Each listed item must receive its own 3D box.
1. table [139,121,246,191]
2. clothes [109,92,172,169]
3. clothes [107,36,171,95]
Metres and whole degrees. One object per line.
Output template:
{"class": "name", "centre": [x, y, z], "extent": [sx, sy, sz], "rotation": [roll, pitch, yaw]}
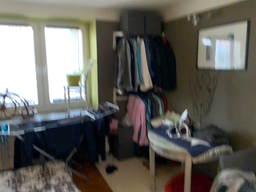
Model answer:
{"class": "table", "centre": [0.720, 0.840, 2.580], "extent": [0.850, 0.770, 0.870], "rotation": [-5, 11, -25]}
{"class": "clothes", "centre": [0.200, 0.520, 3.560], "extent": [0.870, 1.050, 0.550], "rotation": [-5, 11, -26]}
{"class": "clothes", "centre": [0.150, -0.480, 3.320], "extent": [0.800, 0.800, 0.610], "rotation": [-4, 11, -24]}
